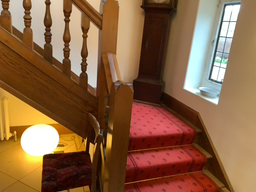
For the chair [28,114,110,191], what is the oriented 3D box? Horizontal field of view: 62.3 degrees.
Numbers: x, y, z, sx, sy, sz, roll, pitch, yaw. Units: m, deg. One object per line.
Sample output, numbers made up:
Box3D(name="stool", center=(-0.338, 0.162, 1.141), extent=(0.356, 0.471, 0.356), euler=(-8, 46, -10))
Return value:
Box3D(name="chair", center=(-0.500, 0.630, 1.790), extent=(0.550, 0.830, 0.440), euler=(0, 18, -19))
